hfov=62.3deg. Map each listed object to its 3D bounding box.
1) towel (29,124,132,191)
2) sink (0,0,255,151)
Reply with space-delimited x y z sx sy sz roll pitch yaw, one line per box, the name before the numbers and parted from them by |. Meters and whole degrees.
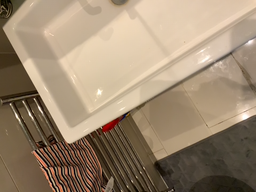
towel | -0.150 0.300 0.780 0.080 0.280 0.320 -33 86 25
sink | -0.020 -0.220 0.500 0.620 0.150 0.460 -33 86 25
